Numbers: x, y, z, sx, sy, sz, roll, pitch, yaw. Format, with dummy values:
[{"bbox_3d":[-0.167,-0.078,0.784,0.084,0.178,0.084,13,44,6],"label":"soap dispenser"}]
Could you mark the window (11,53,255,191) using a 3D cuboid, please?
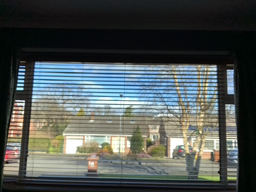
[{"bbox_3d":[0.060,0.340,2.550,2.770,1.690,0.150,1,-7,2],"label":"window"}]
